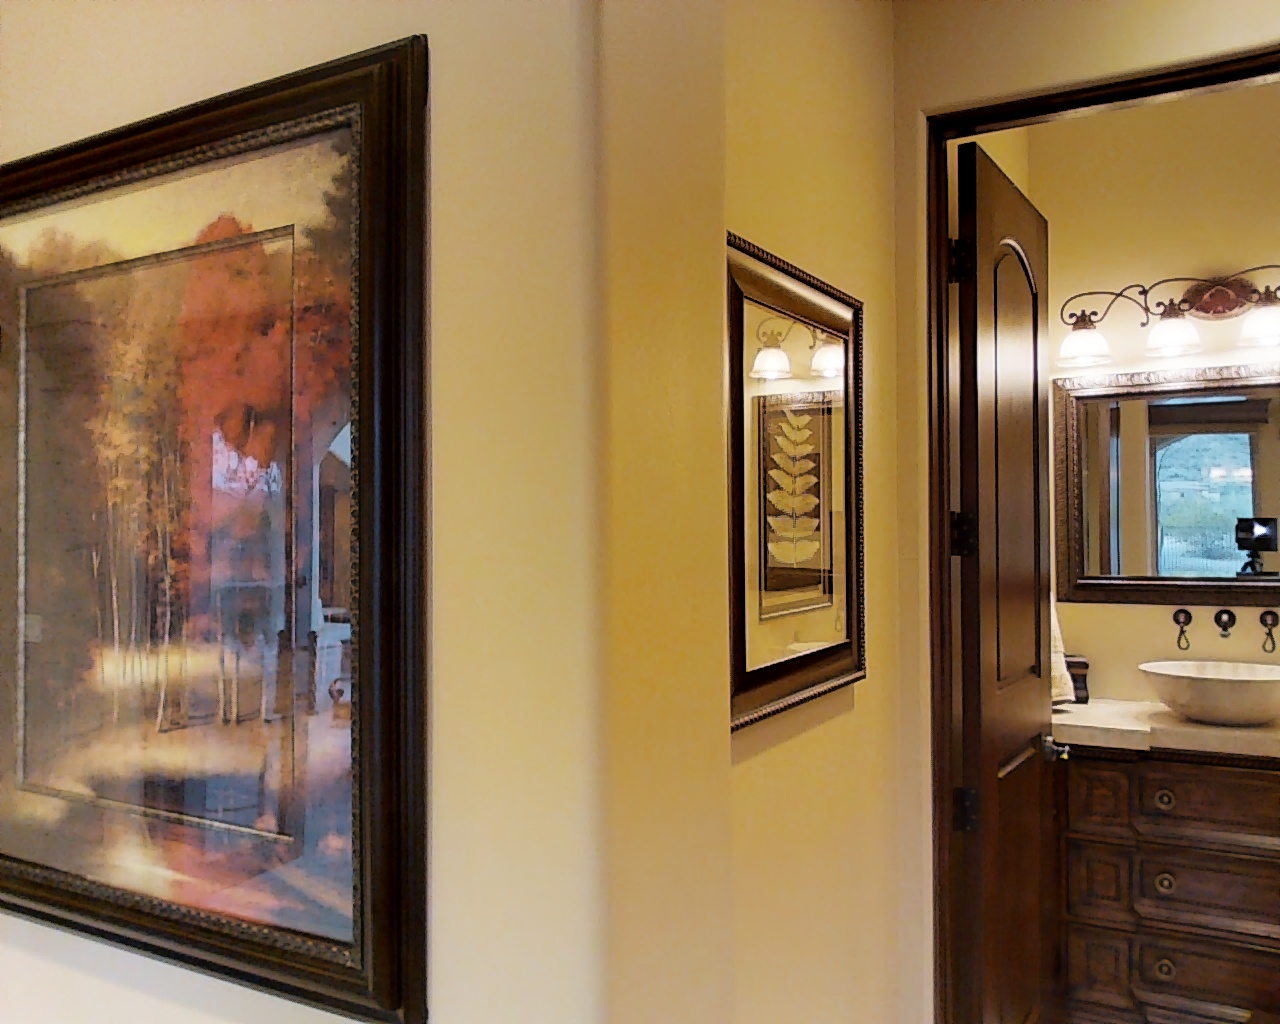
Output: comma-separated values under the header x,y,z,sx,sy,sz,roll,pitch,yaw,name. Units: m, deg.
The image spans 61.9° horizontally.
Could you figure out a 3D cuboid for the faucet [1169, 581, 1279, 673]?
x,y,z,sx,sy,sz,roll,pitch,yaw,name
1.920,0.370,3.480,0.340,0.280,0.110,-1,-1,30,faucet
